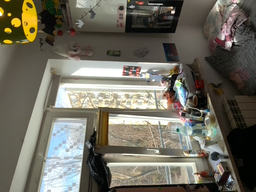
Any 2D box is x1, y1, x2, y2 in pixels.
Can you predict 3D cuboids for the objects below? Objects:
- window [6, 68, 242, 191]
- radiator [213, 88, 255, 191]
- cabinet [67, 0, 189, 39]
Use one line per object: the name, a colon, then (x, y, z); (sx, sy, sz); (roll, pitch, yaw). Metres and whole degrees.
window: (-0.020, 0.500, 1.940); (0.250, 1.770, 1.910); (97, 172, -48)
radiator: (1.200, 0.340, 1.710); (0.110, 0.740, 0.940); (98, 171, -52)
cabinet: (-0.010, -0.960, 2.450); (0.430, 1.260, 0.310); (98, 171, -51)
